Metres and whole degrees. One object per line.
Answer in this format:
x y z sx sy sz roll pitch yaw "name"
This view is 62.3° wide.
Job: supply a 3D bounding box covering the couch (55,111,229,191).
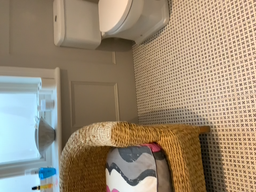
0.040 0.550 1.370 0.800 0.780 0.800 -17 76 57 "couch"
